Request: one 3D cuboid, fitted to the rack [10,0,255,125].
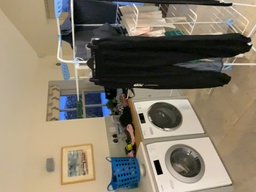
[{"bbox_3d":[0.180,-0.500,1.850,0.840,1.840,1.040,100,161,-44],"label":"rack"}]
